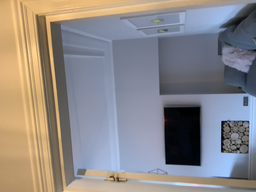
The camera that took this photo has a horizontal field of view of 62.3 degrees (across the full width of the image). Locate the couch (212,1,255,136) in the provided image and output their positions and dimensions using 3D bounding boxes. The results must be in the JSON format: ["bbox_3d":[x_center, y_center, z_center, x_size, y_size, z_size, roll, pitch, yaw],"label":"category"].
[{"bbox_3d":[1.710,-0.410,2.690,2.360,0.840,1.100,-37,-54,-74],"label":"couch"}]
